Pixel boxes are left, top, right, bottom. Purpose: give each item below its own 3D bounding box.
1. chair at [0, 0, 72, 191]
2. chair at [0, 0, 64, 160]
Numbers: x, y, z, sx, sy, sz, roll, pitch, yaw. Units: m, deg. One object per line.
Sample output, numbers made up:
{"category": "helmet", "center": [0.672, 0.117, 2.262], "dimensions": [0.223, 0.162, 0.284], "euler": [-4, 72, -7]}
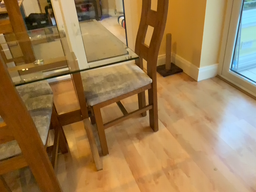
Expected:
{"category": "chair", "center": [-0.570, 0.150, 0.990], "dimensions": [0.360, 1.030, 0.560], "euler": [-15, 34, -14]}
{"category": "chair", "center": [-0.800, -0.160, 1.500], "dimensions": [0.370, 1.030, 0.560], "euler": [-15, 34, -15]}
